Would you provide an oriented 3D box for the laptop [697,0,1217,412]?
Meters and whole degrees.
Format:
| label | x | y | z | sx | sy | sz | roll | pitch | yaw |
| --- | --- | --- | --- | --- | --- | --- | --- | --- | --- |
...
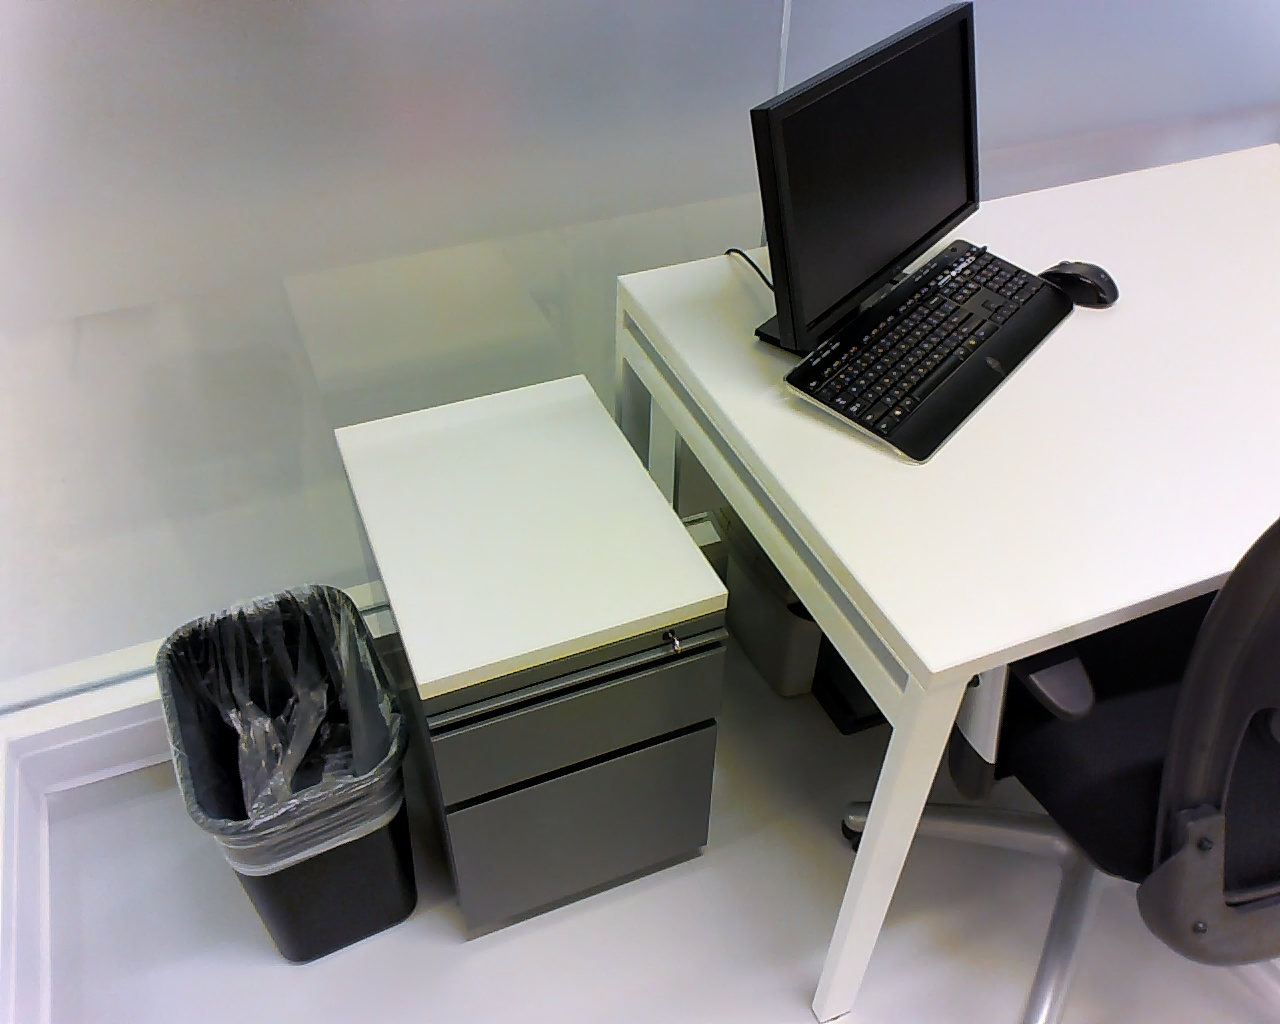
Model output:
| label | x | y | z | sx | sy | sz | roll | pitch | yaw |
| --- | --- | --- | --- | --- | --- | --- | --- | --- | --- |
| laptop | 0.360 | -0.380 | 1.300 | 0.530 | 0.340 | 0.210 | -16 | 44 | -18 |
